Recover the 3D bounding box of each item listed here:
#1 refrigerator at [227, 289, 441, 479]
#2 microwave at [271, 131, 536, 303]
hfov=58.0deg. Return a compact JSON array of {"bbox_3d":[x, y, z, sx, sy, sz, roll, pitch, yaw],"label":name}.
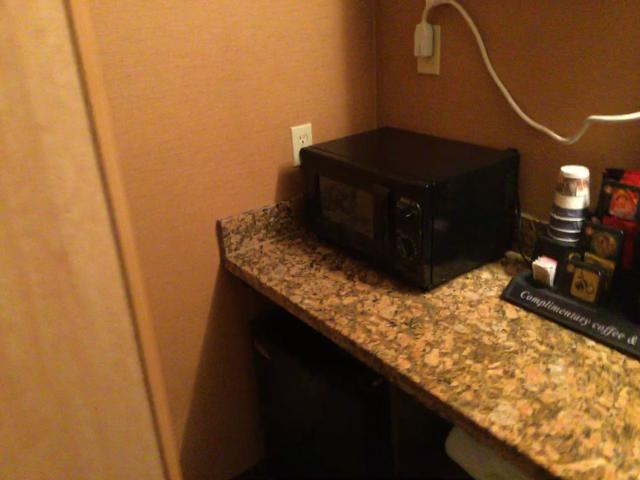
[{"bbox_3d":[0.010,0.470,1.550,0.250,0.490,0.530,-14,24,-40],"label":"refrigerator"},{"bbox_3d":[0.190,-0.100,1.490,0.380,0.270,0.540,-14,24,-40],"label":"microwave"}]
